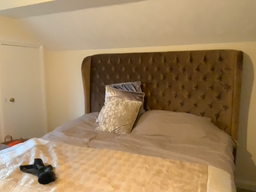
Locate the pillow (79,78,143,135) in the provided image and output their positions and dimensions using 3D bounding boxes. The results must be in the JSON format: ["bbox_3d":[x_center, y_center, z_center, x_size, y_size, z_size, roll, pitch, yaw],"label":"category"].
[{"bbox_3d":[-0.180,0.140,2.600,0.540,0.710,0.240,5,48,26],"label":"pillow"}]
